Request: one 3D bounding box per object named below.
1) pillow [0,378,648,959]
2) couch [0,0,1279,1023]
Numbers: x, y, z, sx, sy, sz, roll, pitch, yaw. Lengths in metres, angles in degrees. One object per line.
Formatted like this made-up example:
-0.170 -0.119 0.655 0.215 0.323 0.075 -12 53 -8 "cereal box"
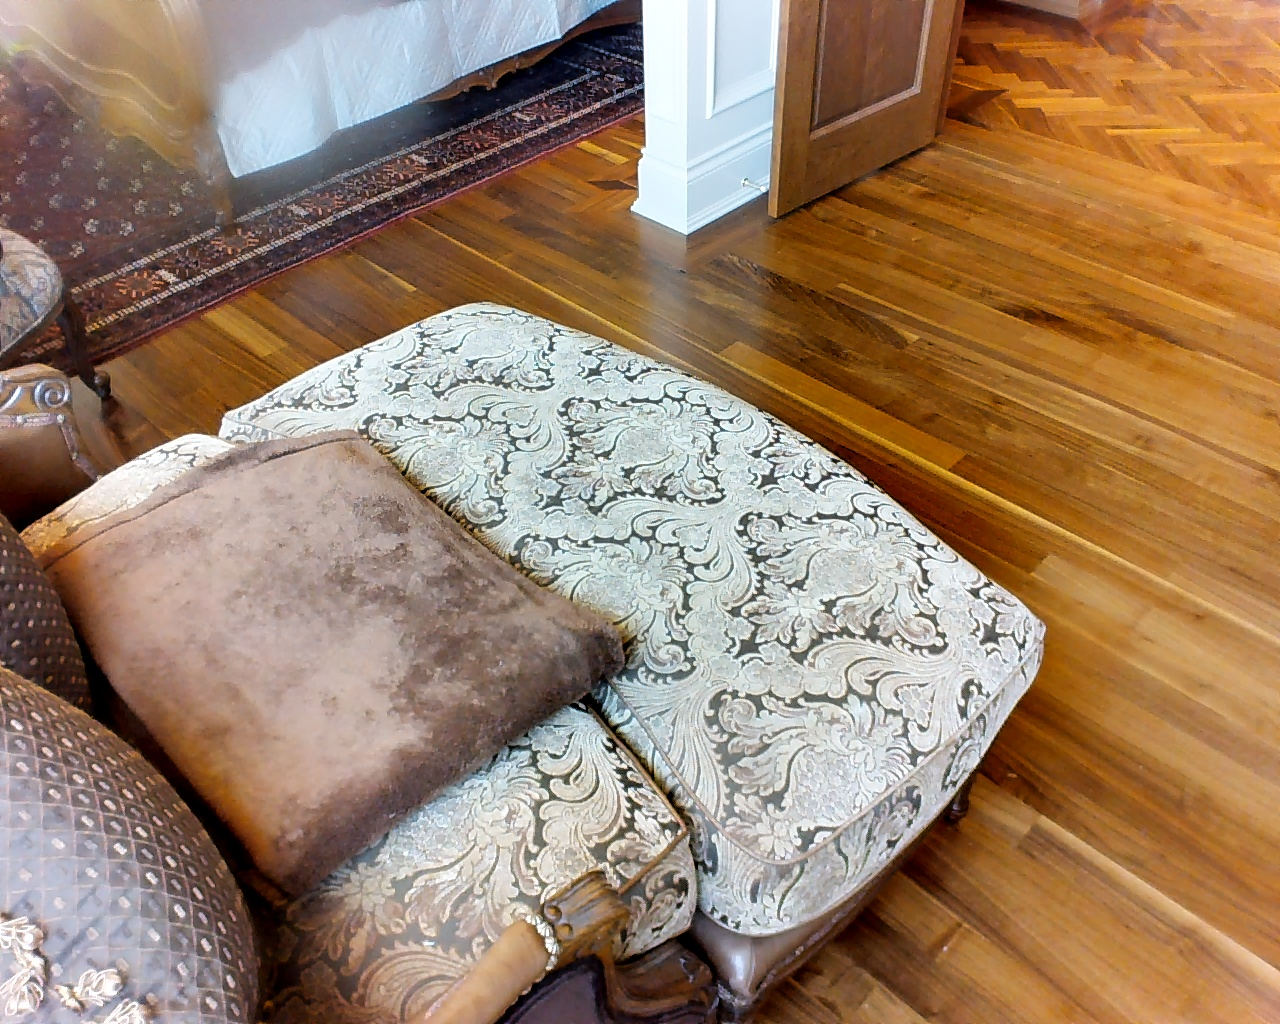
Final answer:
-0.370 0.120 1.250 0.620 0.140 0.450 33 53 32 "pillow"
-0.300 0.140 1.310 1.240 0.950 1.460 33 53 32 "couch"
